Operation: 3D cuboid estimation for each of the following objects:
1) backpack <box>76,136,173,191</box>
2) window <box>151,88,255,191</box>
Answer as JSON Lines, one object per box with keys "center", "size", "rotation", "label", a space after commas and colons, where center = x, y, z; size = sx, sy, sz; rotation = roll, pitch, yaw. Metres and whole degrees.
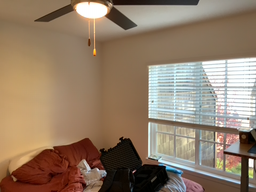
{"center": [0.030, 0.750, 2.160], "size": [0.790, 0.450, 0.910], "rotation": [1, 3, 10], "label": "backpack"}
{"center": [0.970, 0.490, 2.950], "size": [1.530, 1.170, 0.040], "rotation": [3, 4, 42], "label": "window"}
